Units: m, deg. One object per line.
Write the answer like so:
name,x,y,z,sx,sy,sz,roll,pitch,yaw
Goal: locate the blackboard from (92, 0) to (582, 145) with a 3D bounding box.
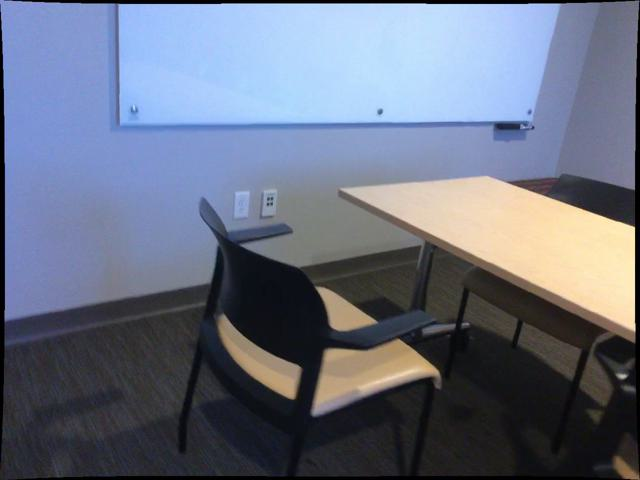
blackboard,0.339,-1.162,2.520,2.537,1.372,0.200,-9,27,-34
